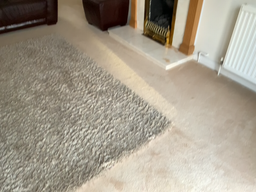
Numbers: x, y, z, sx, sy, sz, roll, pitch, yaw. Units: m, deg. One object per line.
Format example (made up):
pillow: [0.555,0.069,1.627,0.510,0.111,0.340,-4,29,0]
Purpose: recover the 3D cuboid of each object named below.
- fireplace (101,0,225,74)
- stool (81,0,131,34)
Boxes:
fireplace: [0.310,-1.100,2.550,0.680,0.980,1.390,-24,45,-27]
stool: [-0.330,-1.300,3.220,0.550,0.450,0.520,-24,45,-27]
